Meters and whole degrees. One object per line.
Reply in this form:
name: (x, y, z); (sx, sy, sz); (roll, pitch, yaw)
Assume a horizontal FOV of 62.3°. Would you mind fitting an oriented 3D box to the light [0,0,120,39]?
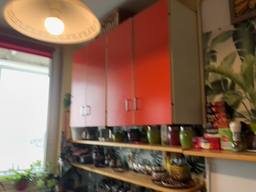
light: (-0.340, -0.550, 0.980); (0.560, 0.390, 0.440); (22, 101, 49)
